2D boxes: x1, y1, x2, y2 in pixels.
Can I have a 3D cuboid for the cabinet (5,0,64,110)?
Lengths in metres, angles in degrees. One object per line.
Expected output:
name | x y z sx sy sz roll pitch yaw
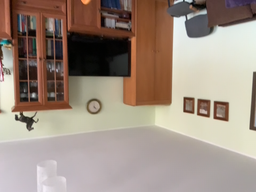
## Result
cabinet | -1.430 -0.800 3.250 0.750 1.950 0.420 -2 -174 -29
